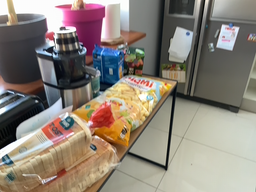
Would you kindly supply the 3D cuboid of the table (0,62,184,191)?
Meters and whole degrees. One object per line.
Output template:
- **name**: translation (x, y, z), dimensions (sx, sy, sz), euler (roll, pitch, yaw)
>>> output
- **table**: translation (-0.150, 0.390, 1.180), dimensions (0.510, 0.770, 1.020), euler (17, 35, 26)
